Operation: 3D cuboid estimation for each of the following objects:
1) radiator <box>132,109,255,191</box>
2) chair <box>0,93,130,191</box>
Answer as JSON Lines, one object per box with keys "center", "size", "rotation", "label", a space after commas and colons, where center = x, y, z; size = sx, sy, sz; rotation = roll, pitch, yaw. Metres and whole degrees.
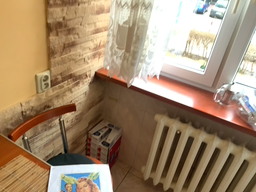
{"center": [0.530, 0.570, 1.370], "size": [0.940, 0.670, 0.160], "rotation": [22, 33, 19], "label": "radiator"}
{"center": [-0.340, 0.490, 1.180], "size": [0.440, 0.830, 0.400], "rotation": [22, 33, 18], "label": "chair"}
